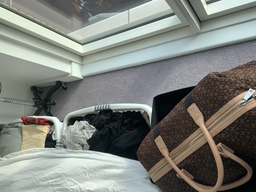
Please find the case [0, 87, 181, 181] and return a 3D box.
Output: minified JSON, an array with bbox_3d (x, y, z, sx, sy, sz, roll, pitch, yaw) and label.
[{"bbox_3d":[-0.330,0.220,1.280,1.200,0.350,0.360,-6,79,31],"label":"case"}]
